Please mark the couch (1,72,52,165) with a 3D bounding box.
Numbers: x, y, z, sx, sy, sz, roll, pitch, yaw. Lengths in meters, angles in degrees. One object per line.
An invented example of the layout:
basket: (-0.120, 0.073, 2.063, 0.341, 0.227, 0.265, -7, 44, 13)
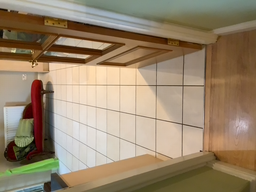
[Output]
couch: (-2.200, 0.420, 4.580, 0.710, 0.820, 1.770, 0, 92, 55)
